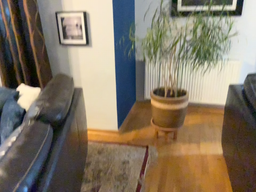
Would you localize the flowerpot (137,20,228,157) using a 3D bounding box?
[{"bbox_3d":[0.560,-0.150,2.270,0.680,1.230,0.680,12,25,29],"label":"flowerpot"}]
